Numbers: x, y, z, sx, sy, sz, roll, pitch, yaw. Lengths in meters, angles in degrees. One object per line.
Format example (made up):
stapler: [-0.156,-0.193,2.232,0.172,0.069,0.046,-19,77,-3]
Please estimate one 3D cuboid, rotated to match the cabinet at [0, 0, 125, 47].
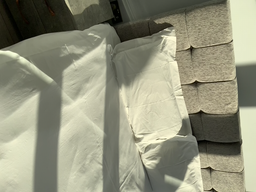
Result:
cabinet: [-0.430,-0.640,1.410,0.560,0.540,0.410,-44,125,-53]
